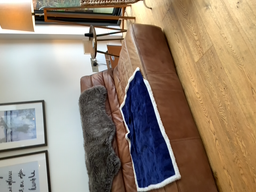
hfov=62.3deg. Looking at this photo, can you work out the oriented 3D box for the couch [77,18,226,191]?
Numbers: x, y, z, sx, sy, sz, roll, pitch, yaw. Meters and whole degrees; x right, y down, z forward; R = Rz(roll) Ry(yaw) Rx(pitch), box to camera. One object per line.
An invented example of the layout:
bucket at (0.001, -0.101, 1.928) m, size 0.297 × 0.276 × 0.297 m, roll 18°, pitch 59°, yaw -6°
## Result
couch at (0.030, 0.350, 2.100) m, size 1.150 × 0.740 × 1.790 m, roll 122°, pitch 138°, yaw -59°
